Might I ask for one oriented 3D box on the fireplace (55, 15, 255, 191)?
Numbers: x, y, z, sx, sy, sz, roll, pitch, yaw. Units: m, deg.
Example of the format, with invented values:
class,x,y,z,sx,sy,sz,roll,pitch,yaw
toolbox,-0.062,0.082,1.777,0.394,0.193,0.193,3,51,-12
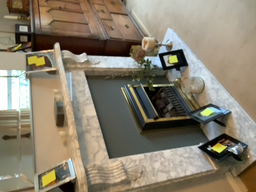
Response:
class,x,y,z,sx,sy,sz,roll,pitch,yaw
fireplace,0.100,0.020,1.800,0.600,1.190,1.550,110,147,-41
